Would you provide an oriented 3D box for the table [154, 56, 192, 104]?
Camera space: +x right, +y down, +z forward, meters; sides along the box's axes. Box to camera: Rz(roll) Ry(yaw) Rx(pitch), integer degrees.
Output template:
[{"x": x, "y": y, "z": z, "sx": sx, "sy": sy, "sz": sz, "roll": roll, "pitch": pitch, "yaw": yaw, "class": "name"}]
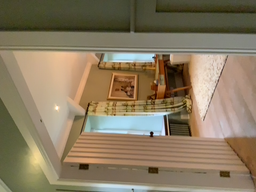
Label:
[{"x": 1.050, "y": -0.410, "z": 5.190, "sx": 1.150, "sy": 0.720, "sz": 0.540, "roll": -86, "pitch": -3, "yaw": -45, "class": "table"}]
